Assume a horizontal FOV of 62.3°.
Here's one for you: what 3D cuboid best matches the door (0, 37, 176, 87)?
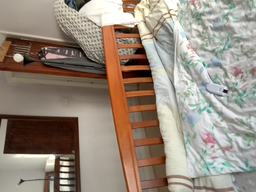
[{"bbox_3d":[-0.420,-0.410,2.580,0.790,1.920,0.040,-115,35,-52],"label":"door"}]
